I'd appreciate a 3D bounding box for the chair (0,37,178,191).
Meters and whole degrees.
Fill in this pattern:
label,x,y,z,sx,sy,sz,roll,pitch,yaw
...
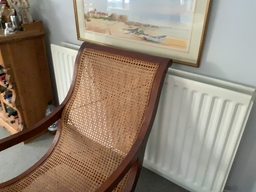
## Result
label,x,y,z,sx,sy,sz,roll,pitch,yaw
chair,-0.300,0.300,1.110,0.670,0.930,0.950,19,33,29

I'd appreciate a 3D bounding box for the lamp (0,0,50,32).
label,x,y,z,sx,sy,sz,roll,pitch,yaw
lamp,-0.860,-0.770,1.600,0.380,0.470,0.270,21,34,31

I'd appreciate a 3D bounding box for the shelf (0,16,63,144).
label,x,y,z,sx,sy,sz,roll,pitch,yaw
shelf,-1.110,-0.200,2.000,0.860,0.930,0.420,21,34,32
